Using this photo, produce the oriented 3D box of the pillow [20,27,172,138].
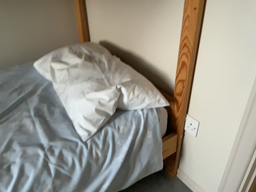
[{"bbox_3d":[-0.220,-0.160,1.100,0.460,0.150,0.780,-20,38,-27],"label":"pillow"}]
